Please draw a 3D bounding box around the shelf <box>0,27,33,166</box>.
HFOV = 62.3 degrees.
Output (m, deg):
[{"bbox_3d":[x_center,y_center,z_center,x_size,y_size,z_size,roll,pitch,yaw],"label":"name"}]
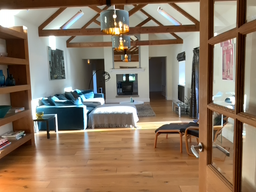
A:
[{"bbox_3d":[-2.250,-0.010,3.400,0.400,2.200,1.930,-2,7,1],"label":"shelf"}]
